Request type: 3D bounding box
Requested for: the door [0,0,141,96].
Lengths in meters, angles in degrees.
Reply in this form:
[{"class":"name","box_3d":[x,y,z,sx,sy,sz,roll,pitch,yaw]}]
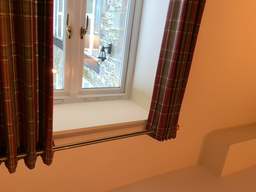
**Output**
[{"class":"door","box_3d":[-0.340,-1.050,1.400,1.100,2.150,0.060,-4,-158,-30]}]
